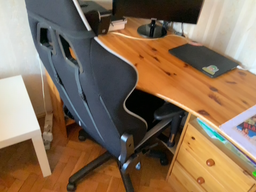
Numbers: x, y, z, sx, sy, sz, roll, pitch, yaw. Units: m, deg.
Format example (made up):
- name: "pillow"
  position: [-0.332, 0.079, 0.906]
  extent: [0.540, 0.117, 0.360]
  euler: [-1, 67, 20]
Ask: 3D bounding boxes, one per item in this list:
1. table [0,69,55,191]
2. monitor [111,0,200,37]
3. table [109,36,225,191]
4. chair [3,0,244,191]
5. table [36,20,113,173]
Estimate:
- name: "table"
  position: [-0.860, 0.240, 1.330]
  extent: [0.560, 0.470, 0.600]
  euler: [-18, 44, -27]
- name: "monitor"
  position: [0.170, -0.600, 1.340]
  extent: [0.540, 0.380, 0.050]
  euler: [8, 39, 2]
- name: "table"
  position: [0.220, 0.120, 1.400]
  extent: [0.390, 0.790, 0.570]
  euler: [28, 44, 25]
- name: "chair"
  position: [-0.050, 0.000, 1.130]
  extent: [0.650, 1.250, 0.680]
  euler: [34, 46, 31]
- name: "table"
  position: [-0.370, 0.000, 1.460]
  extent: [0.210, 0.790, 0.670]
  euler: [-17, 44, -27]
